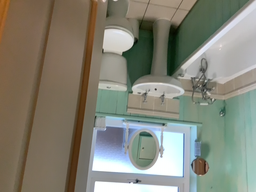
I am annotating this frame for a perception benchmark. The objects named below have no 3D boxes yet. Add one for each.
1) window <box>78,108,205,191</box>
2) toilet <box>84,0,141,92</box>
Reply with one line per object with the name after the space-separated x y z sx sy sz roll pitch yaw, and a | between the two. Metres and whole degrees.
0.170 0.800 2.460 1.370 1.150 0.290 6 166 -7 | window
-0.160 -0.540 2.200 0.430 0.820 0.680 7 166 -6 | toilet
